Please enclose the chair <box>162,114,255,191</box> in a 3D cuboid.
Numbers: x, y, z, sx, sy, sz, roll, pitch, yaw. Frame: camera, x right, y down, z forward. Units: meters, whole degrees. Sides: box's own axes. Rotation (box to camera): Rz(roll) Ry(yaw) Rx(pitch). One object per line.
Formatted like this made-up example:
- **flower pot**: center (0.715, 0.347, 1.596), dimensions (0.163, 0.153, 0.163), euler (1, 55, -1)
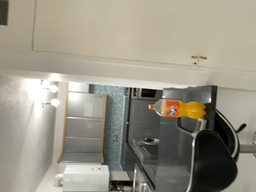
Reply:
- **chair**: center (0.820, 0.370, 1.320), dimensions (0.430, 1.100, 0.420), euler (180, 94, -81)
